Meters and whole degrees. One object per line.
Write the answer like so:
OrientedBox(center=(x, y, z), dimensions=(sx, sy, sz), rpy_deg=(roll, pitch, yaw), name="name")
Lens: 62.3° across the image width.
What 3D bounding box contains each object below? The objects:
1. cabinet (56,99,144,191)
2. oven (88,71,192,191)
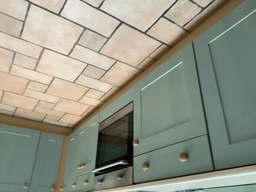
OrientedBox(center=(-0.330, 0.670, 2.440), dimensions=(0.590, 0.890, 0.890), rpy_deg=(18, 148, -29), name="cabinet")
OrientedBox(center=(0.080, 0.380, 1.890), dimensions=(0.580, 0.890, 0.610), rpy_deg=(18, 148, -29), name="oven")
